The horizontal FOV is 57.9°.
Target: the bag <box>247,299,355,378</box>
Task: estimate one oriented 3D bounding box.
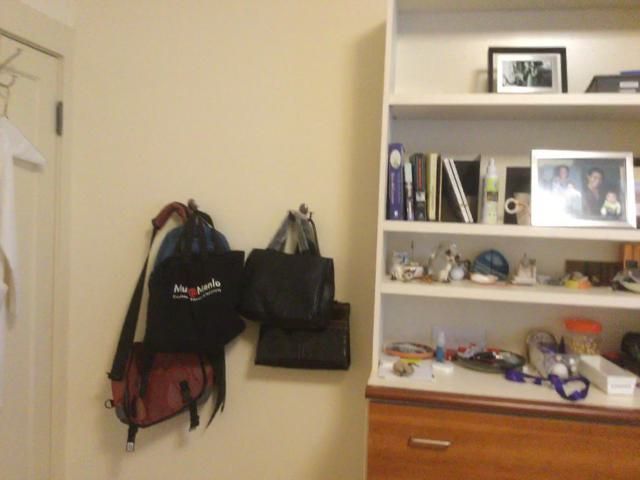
[{"bbox_3d":[-0.060,0.320,1.910,0.330,0.210,0.130,3,3,10],"label":"bag"}]

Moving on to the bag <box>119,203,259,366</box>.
[{"bbox_3d":[-0.420,0.130,1.890,0.370,0.480,0.240,3,3,10],"label":"bag"}]

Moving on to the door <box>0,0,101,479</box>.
[{"bbox_3d":[-0.970,0.280,1.600,0.170,2.080,0.960,3,3,10],"label":"door"}]

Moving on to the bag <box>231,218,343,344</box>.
[{"bbox_3d":[-0.100,0.120,1.860,0.310,0.370,0.190,3,3,10],"label":"bag"}]

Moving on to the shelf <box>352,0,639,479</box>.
[{"bbox_3d":[0.610,0.300,1.610,0.960,2.190,0.510,3,3,10],"label":"shelf"}]

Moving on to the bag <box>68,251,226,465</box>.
[{"bbox_3d":[-0.570,0.370,1.930,0.440,0.630,0.220,3,3,10],"label":"bag"}]
